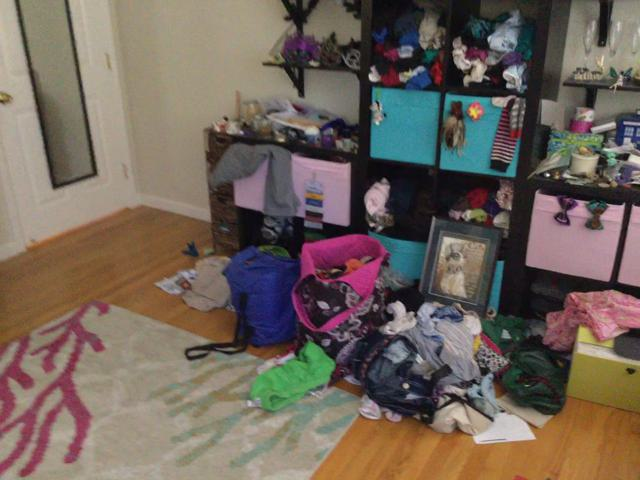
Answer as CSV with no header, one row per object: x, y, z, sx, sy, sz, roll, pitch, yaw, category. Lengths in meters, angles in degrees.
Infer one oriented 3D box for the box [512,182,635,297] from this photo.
0.990,-0.010,2.280,0.360,0.370,0.080,16,16,29,box

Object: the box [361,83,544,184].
0.580,-0.500,2.590,0.690,0.320,0.360,14,25,31,box

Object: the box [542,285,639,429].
1.200,0.460,2.120,0.620,0.350,0.290,16,26,29,box

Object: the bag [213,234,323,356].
-0.240,0.240,2.670,0.390,0.380,0.300,16,26,29,bag
